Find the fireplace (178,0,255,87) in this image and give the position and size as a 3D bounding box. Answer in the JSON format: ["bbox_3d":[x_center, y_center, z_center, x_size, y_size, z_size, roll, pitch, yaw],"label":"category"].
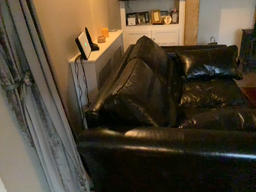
[{"bbox_3d":[1.900,-1.030,2.930,2.260,1.570,0.900,1,28,10],"label":"fireplace"}]
